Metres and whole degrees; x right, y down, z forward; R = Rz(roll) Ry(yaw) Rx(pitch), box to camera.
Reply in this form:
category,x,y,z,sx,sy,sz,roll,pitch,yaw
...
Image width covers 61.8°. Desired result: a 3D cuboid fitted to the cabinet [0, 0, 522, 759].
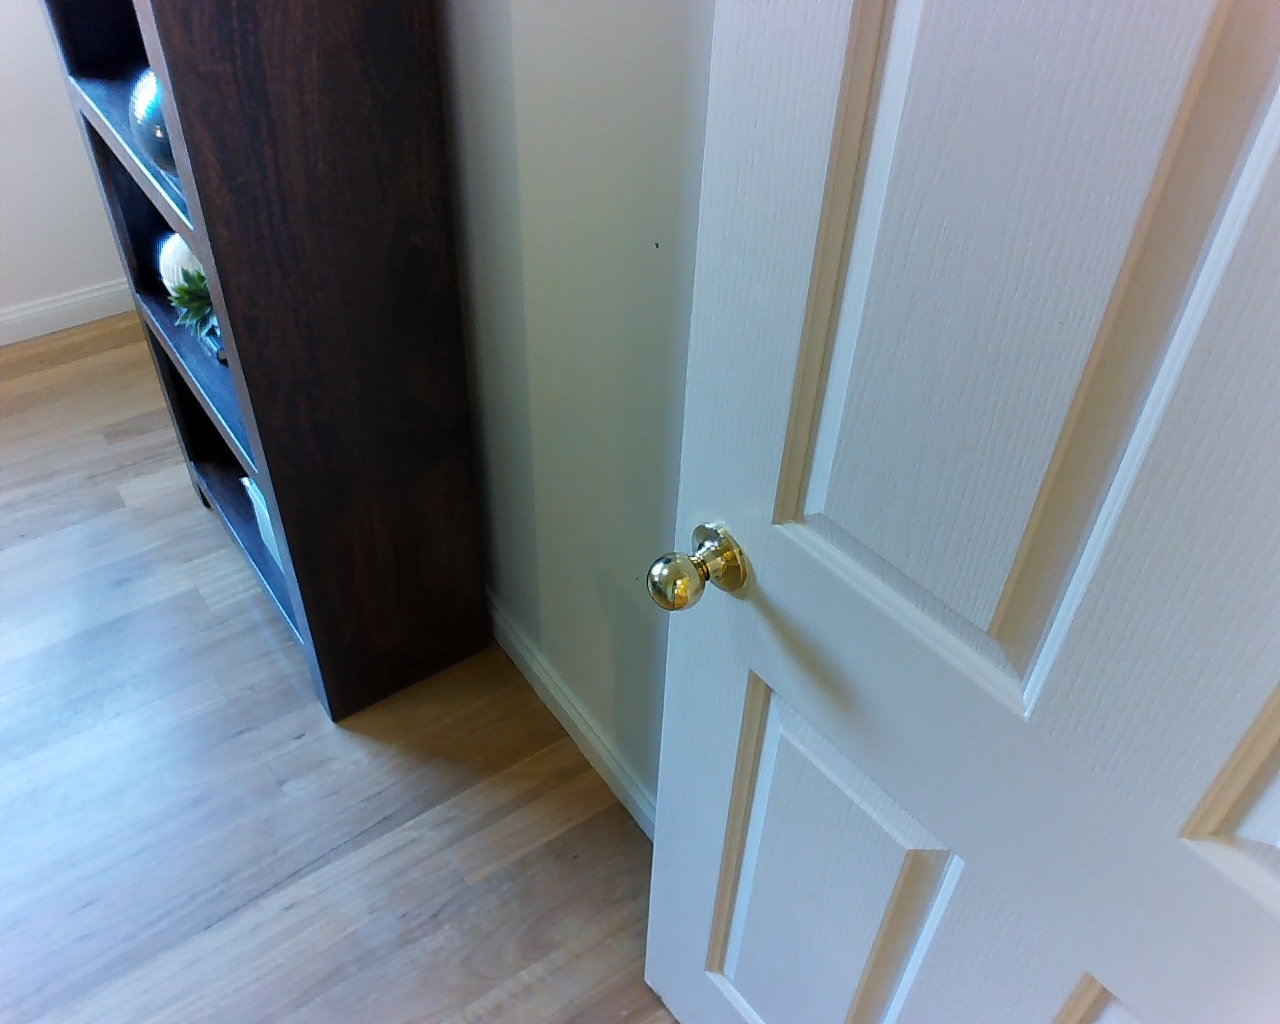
category,x,y,z,sx,sy,sz,roll,pitch,yaw
cabinet,-0.630,-0.550,1.620,0.460,1.770,0.840,-24,48,-26
